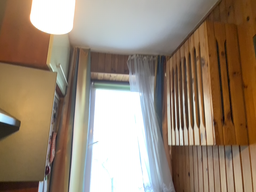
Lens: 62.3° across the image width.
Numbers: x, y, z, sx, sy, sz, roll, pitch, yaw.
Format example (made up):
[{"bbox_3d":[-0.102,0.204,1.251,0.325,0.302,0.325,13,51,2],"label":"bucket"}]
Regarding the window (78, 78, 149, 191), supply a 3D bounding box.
[{"bbox_3d":[-0.130,0.510,2.180,0.660,1.360,0.160,3,-13,-6],"label":"window"}]
